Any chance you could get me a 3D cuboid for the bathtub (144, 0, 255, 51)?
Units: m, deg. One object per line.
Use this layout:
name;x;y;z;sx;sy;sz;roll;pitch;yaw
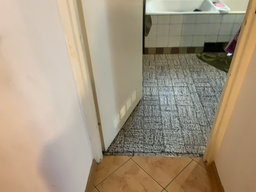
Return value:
bathtub;1.070;-1.010;2.890;1.690;0.530;0.690;1;38;4
